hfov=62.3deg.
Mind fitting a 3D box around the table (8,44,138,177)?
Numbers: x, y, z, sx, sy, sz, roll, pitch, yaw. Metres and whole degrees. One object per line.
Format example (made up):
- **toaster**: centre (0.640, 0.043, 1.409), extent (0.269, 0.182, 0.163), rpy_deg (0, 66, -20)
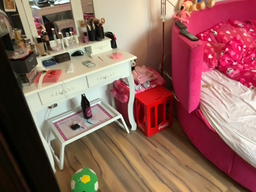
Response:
- **table**: centre (-0.410, 0.080, 1.820), extent (0.840, 0.760, 0.480), rpy_deg (-21, 36, -24)
